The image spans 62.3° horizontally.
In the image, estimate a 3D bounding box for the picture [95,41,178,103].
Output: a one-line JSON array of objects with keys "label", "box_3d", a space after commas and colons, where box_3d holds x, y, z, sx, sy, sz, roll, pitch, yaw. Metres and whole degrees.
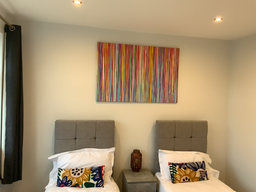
[{"label": "picture", "box_3d": [0.140, -0.320, 3.040, 1.190, 0.810, 0.050, 2, 2, -14]}]
